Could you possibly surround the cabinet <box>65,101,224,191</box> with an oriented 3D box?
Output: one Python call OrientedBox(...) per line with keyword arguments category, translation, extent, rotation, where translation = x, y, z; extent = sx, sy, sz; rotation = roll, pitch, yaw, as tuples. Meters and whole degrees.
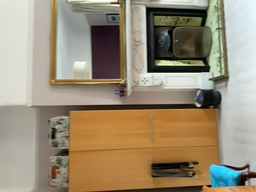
OrientedBox(category="cabinet", translation=(0.190, 0.700, 3.030), extent=(0.750, 1.990, 1.160), rotation=(139, 130, -80))
